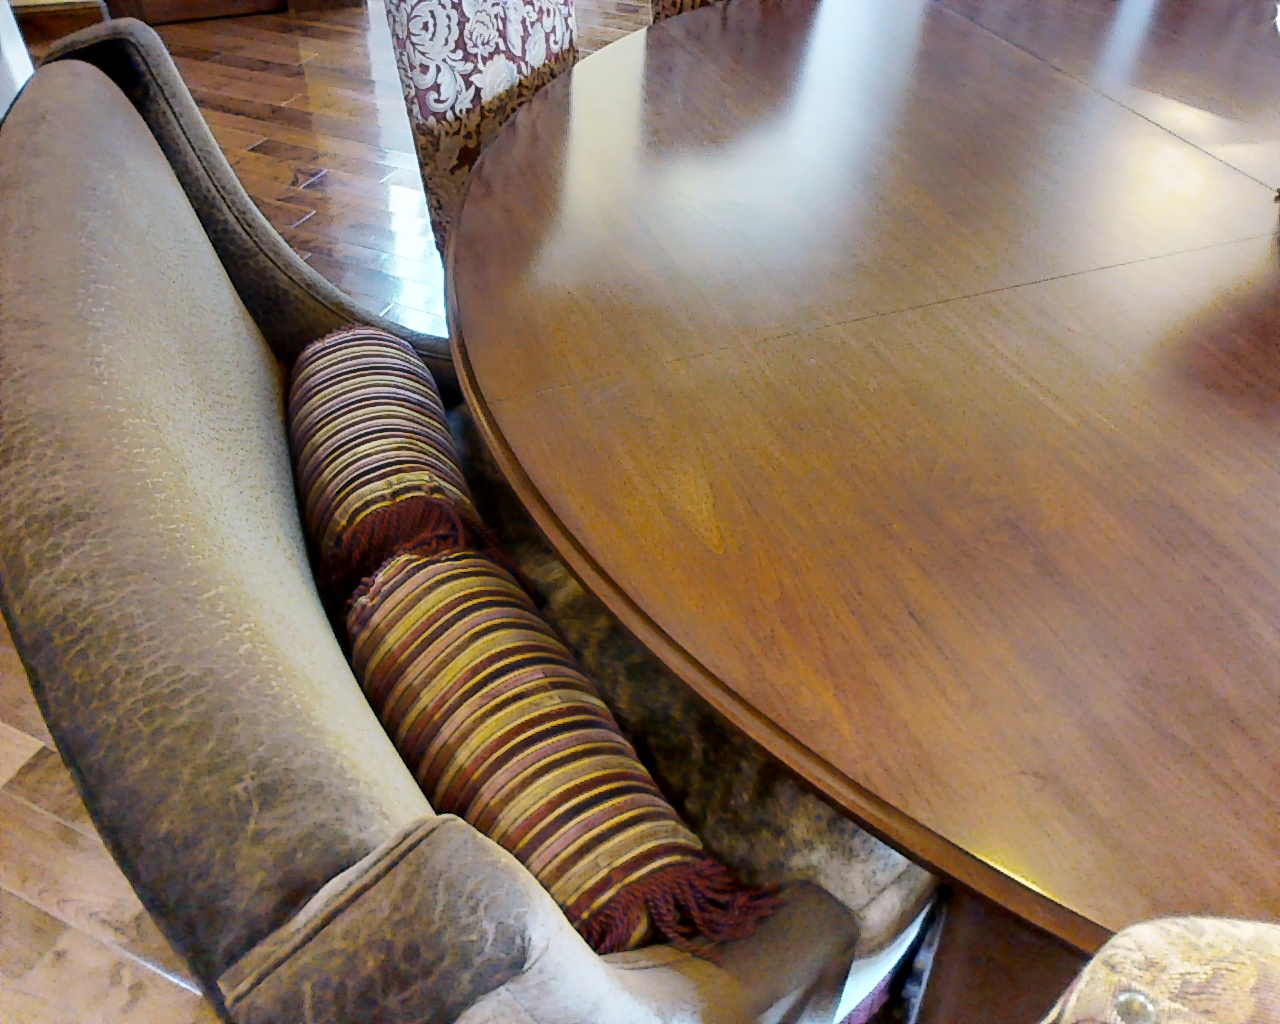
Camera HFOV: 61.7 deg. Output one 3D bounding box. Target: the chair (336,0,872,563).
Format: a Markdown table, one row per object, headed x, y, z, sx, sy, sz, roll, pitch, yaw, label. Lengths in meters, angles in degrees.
| x | y | z | sx | sy | sz | roll | pitch | yaw | label |
| --- | --- | --- | --- | --- | --- | --- | --- | --- | --- |
| -0.030 | -0.730 | 2.170 | 0.740 | 1.370 | 0.730 | 18 | 44 | 18 | chair |
